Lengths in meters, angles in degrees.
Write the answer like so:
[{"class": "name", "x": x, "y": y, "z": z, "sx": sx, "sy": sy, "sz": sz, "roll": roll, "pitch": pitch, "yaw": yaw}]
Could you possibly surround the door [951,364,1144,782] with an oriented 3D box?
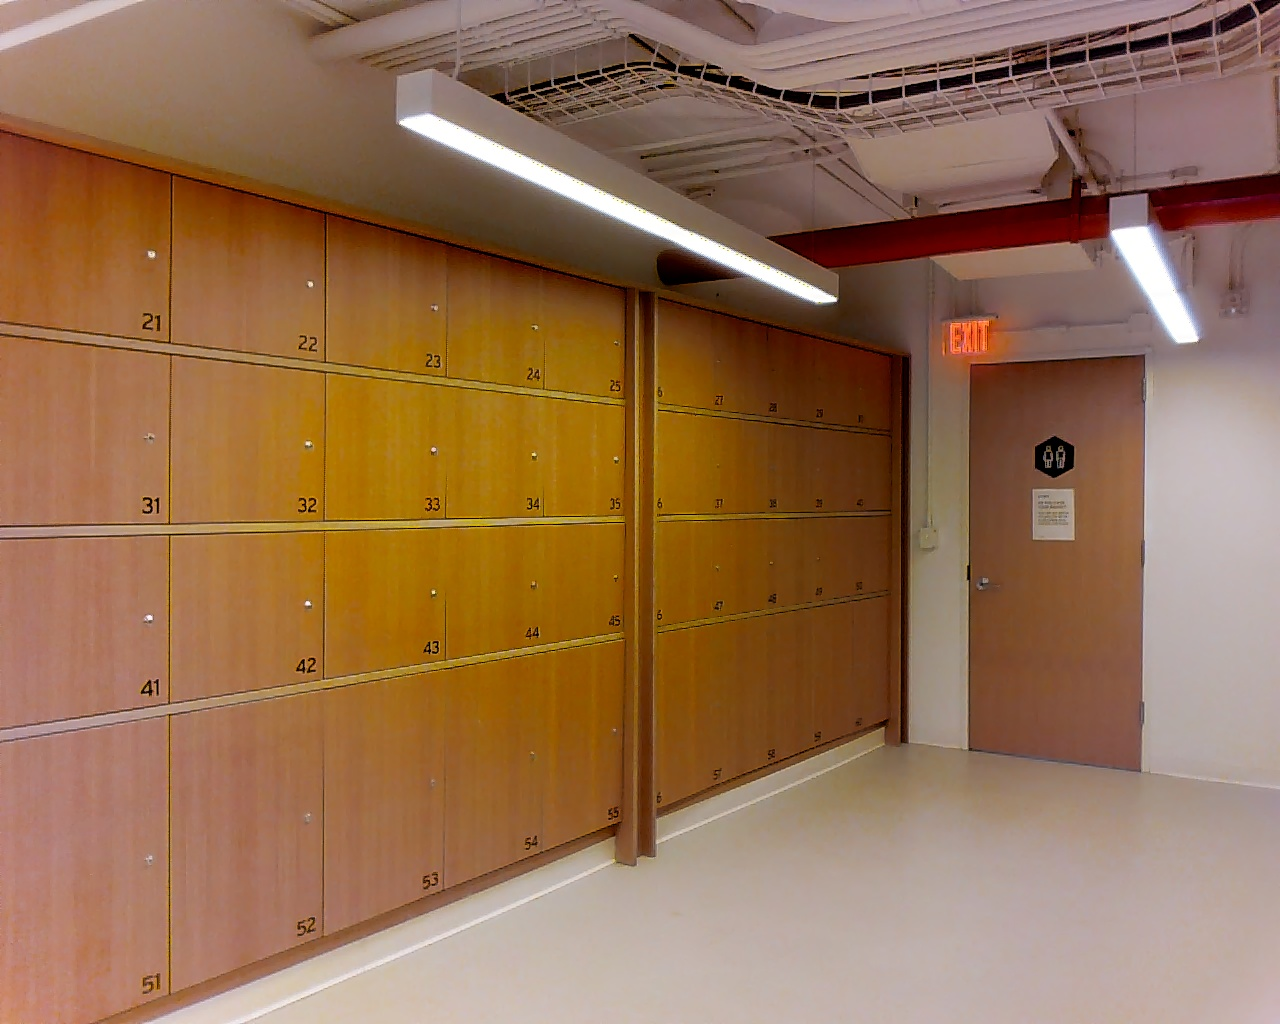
[{"class": "door", "x": 2.230, "y": 0.320, "z": 5.920, "sx": 0.980, "sy": 2.210, "sz": 0.030, "roll": 1, "pitch": 0, "yaw": 30}]
